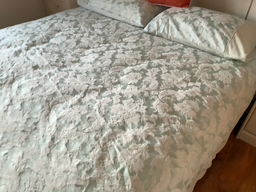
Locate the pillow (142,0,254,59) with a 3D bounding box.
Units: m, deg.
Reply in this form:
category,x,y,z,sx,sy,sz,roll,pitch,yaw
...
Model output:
category,x,y,z,sx,sy,sz,roll,pitch,yaw
pillow,0.470,-0.510,1.470,0.580,0.150,0.450,32,48,30
